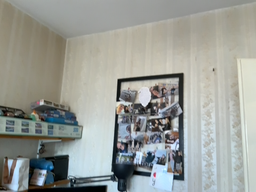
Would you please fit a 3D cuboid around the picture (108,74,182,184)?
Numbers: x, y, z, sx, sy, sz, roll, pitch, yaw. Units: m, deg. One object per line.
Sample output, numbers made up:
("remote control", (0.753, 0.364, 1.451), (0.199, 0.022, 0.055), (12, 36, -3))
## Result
("picture", (0.130, 0.230, 1.640), (0.550, 0.770, 0.070), (-2, -13, 24))
